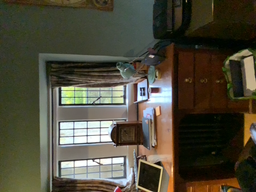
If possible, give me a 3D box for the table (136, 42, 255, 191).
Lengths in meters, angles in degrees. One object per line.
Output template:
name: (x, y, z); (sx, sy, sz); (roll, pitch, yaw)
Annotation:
table: (0.610, 0.410, 2.210); (0.940, 0.830, 1.680); (-173, 82, -76)
